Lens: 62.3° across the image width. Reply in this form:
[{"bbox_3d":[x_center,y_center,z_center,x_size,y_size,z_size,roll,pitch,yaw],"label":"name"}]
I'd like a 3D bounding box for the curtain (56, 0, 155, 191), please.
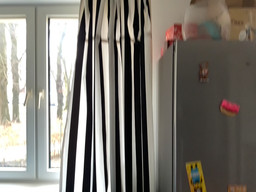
[{"bbox_3d":[-0.150,-0.080,1.460,0.630,1.610,0.170,1,2,1],"label":"curtain"}]

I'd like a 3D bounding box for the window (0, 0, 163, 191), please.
[{"bbox_3d":[-1.160,0.000,1.720,2.820,1.590,0.240,1,2,2],"label":"window"}]
